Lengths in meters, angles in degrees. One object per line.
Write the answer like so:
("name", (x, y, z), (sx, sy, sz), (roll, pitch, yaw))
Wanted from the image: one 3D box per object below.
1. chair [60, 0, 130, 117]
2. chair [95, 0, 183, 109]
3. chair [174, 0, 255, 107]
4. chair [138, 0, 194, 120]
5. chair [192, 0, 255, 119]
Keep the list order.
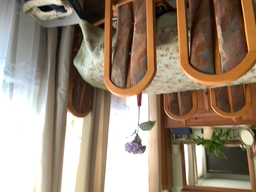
("chair", (-0.290, -0.330, 2.020), (0.490, 1.000, 0.360), (-6, 165, 28))
("chair", (0.100, -0.460, 1.420), (0.360, 1.010, 0.490), (-6, 165, 28))
("chair", (0.510, -0.500, 1.200), (0.370, 1.030, 0.490), (-6, 165, 28))
("chair", (0.370, -0.310, 2.040), (0.380, 1.020, 0.490), (-6, 165, 26))
("chair", (0.810, -0.350, 1.830), (0.390, 1.020, 0.490), (-5, 166, 24))
